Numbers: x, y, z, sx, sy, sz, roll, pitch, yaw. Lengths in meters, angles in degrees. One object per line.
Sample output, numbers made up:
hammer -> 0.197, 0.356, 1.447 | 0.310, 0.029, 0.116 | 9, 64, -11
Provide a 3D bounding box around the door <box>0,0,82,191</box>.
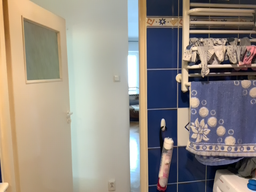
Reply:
door -> -0.650, 0.300, 1.830 | 0.090, 1.990, 0.980 | 1, 7, 9
